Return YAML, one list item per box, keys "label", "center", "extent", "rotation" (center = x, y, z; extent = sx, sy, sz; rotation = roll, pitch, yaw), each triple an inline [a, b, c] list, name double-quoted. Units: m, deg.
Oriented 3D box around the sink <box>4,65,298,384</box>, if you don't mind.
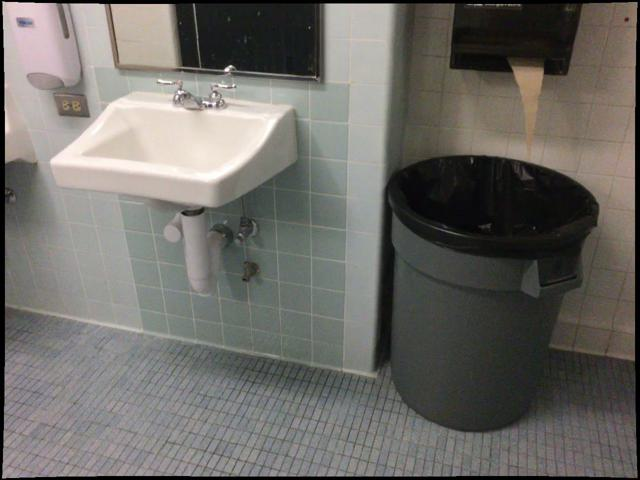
- label: "sink"
  center: [-0.389, -0.060, 1.590]
  extent: [0.539, 0.681, 0.450]
  rotation: [8, 32, 13]
